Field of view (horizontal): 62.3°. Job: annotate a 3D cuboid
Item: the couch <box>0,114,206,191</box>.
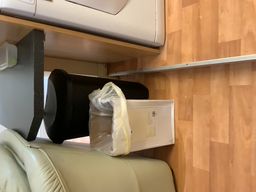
[{"bbox_3d":[-0.310,0.690,1.280,1.170,0.920,1.060,-3,88,50],"label":"couch"}]
